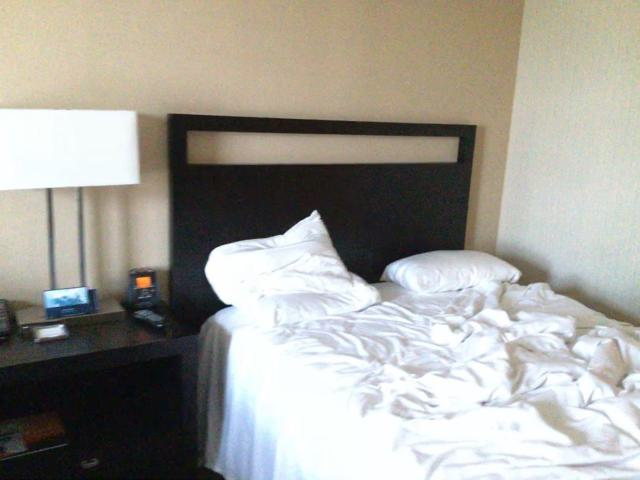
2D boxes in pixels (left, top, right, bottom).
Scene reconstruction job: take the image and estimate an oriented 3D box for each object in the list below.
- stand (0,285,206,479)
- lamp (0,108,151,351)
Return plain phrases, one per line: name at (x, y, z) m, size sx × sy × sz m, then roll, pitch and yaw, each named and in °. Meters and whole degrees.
stand at (-0.880, 0.620, 2.130) m, size 0.760 × 0.720 × 0.530 m, roll -5°, pitch 12°, yaw -29°
lamp at (-0.930, -0.070, 2.140) m, size 0.470 × 0.790 × 0.410 m, roll -5°, pitch 12°, yaw -29°
